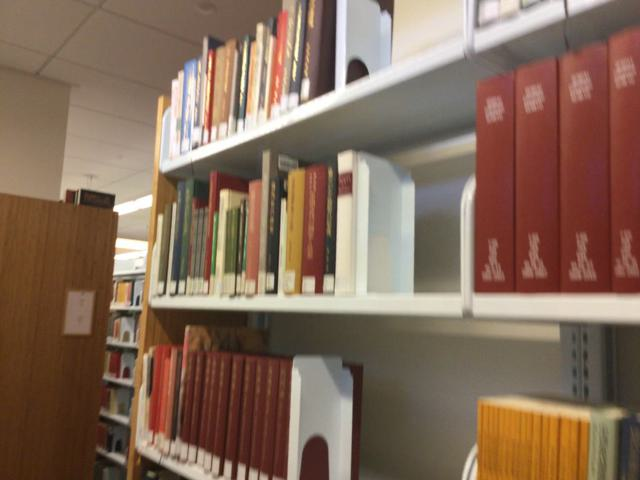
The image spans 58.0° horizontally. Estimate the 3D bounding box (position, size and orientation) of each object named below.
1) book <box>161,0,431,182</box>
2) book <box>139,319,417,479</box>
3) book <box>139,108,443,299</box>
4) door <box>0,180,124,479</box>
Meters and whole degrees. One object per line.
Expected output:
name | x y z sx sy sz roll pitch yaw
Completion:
book | -0.090 -0.300 1.250 0.230 0.210 0.650 9 -10 -38
book | -0.120 0.300 1.170 0.240 0.250 0.610 9 -10 -38
book | -0.110 -0.020 1.160 0.210 0.260 0.720 9 -10 -38
door | -1.310 0.790 2.670 0.590 2.070 0.090 9 -9 -37
